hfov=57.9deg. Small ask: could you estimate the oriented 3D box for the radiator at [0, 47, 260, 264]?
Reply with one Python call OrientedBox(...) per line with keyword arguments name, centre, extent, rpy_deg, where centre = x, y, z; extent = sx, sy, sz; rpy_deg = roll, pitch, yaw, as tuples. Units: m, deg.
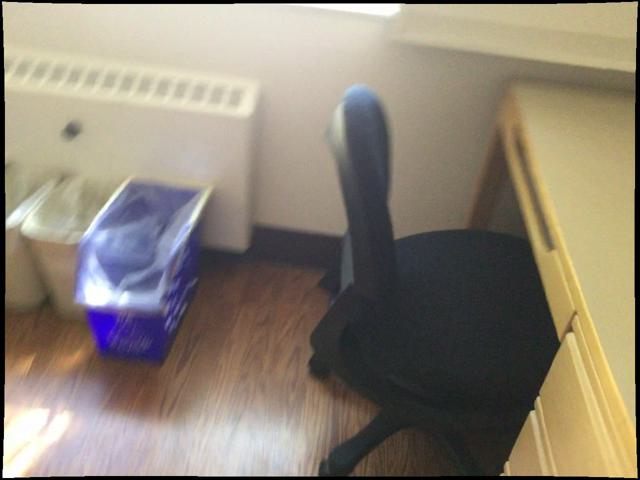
OrientedBox(name="radiator", centre=(-0.729, -0.250, 1.730), extent=(1.079, 0.570, 0.160), rpy_deg=(6, 39, 1))
